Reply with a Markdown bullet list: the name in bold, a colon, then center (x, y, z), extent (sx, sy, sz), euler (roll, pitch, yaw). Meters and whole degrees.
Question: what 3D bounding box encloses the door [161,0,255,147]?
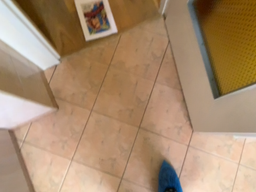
- **door**: center (0.330, -0.300, 0.320), extent (0.070, 1.930, 0.790), euler (-11, 81, -2)
